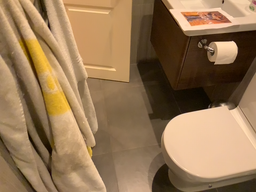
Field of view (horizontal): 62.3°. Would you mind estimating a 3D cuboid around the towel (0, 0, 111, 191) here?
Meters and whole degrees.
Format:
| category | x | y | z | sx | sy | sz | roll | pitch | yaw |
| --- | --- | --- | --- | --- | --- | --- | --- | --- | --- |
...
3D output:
| category | x | y | z | sx | sy | sz | roll | pitch | yaw |
| --- | --- | --- | --- | --- | --- | --- | --- | --- | --- |
| towel | -0.190 | 0.200 | 0.710 | 0.230 | 1.180 | 0.260 | -7 | 49 | -8 |
